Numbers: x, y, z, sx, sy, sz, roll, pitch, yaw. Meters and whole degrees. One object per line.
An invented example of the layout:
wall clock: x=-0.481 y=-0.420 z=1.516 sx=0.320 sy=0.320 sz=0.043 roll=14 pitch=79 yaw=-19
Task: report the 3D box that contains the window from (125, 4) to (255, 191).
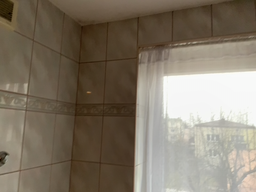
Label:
window: x=0.450 y=0.420 z=1.170 sx=0.940 sy=1.870 sz=0.080 roll=0 pitch=-8 yaw=18
